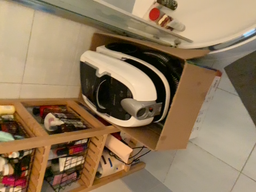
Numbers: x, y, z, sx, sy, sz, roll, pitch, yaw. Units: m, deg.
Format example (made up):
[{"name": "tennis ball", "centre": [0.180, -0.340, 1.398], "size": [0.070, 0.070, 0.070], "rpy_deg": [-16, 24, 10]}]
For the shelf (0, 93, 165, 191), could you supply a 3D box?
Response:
[{"name": "shelf", "centre": [-0.410, 0.240, 1.020], "size": [0.380, 1.400, 0.380], "rpy_deg": [30, 109, 37]}]
